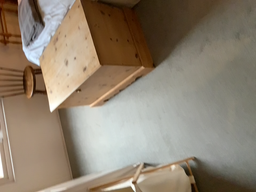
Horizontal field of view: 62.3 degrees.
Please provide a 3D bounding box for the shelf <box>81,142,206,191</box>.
[{"bbox_3d":[0.120,0.700,1.510,0.570,0.600,0.480,-34,69,43],"label":"shelf"}]

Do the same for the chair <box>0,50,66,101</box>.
[{"bbox_3d":[-1.340,-0.250,2.800,0.530,0.770,0.480,-22,78,46],"label":"chair"}]

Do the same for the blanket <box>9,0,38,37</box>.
[{"bbox_3d":[-0.920,-0.790,1.850,0.350,0.080,0.400,-36,68,44],"label":"blanket"}]
